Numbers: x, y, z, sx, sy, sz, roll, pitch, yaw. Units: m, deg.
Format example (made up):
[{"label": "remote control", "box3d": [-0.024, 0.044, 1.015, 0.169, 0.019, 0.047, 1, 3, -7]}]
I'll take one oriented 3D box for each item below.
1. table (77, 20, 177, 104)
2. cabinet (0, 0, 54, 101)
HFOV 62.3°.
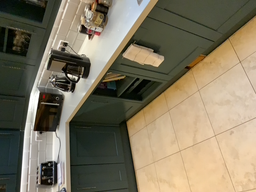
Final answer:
[{"label": "table", "box3d": [-0.030, -0.330, 2.400, 0.500, 0.920, 0.590, -44, 48, 47]}, {"label": "cabinet", "box3d": [-1.280, -0.420, 2.030, 1.170, 0.830, 0.360, -44, 48, 47]}]
